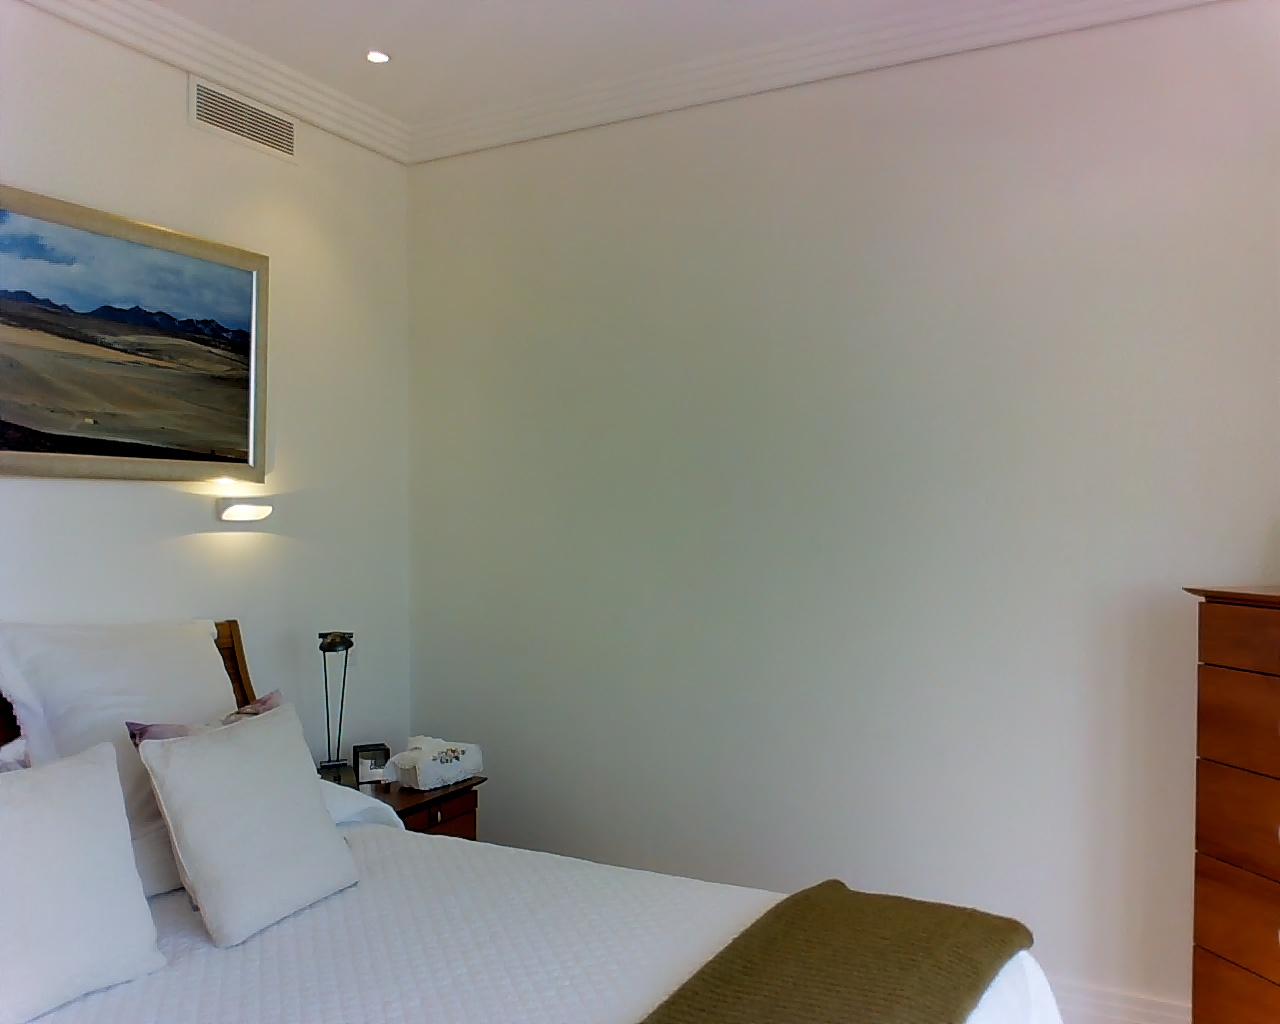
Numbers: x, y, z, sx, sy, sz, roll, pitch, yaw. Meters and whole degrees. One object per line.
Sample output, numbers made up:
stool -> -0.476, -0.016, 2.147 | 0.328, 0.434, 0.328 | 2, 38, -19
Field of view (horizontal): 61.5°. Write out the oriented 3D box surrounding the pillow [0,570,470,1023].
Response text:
pillow -> -1.170, 0.490, 2.290 | 0.920, 0.650, 1.390 | -1, 0, 29
